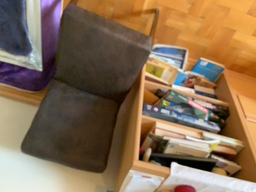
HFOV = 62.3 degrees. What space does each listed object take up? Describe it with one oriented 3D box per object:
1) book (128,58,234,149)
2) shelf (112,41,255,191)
[{"bbox_3d":[0.280,0.050,1.260,0.470,0.300,0.320,15,133,-6],"label":"book"},{"bbox_3d":[0.270,0.130,1.180,0.540,0.840,0.360,15,133,-6],"label":"shelf"}]
